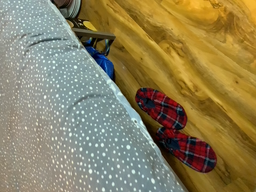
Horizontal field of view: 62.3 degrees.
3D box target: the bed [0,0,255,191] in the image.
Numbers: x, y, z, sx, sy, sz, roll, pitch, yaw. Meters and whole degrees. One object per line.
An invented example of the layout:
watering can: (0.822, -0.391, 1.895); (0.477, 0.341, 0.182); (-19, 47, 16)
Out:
bed: (-0.570, 0.160, 1.280); (2.010, 0.600, 1.500); (53, 128, 24)
